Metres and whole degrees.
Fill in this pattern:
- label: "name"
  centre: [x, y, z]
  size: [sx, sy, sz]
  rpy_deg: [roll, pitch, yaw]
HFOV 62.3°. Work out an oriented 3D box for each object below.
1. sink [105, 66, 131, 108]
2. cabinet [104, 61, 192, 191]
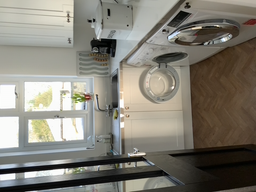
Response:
- label: "sink"
  centre: [-0.140, -0.090, 2.660]
  size: [0.530, 0.210, 0.460]
  rpy_deg: [167, 102, -74]
- label: "cabinet"
  centre: [0.220, 0.470, 2.720]
  size: [0.600, 0.920, 1.690]
  rpy_deg: [167, 102, -74]
